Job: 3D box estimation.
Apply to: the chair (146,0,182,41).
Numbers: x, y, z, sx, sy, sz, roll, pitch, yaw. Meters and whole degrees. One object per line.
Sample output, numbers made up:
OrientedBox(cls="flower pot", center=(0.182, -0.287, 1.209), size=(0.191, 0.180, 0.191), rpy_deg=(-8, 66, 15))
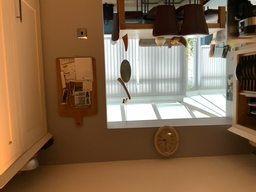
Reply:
OrientedBox(cls="chair", center=(0.600, -1.470, 3.660), size=(0.460, 0.900, 0.640), rpy_deg=(-2, -174, -4))

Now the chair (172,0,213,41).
OrientedBox(cls="chair", center=(1.080, -1.470, 3.650), size=(0.470, 0.910, 0.650), rpy_deg=(-2, -174, -4))
